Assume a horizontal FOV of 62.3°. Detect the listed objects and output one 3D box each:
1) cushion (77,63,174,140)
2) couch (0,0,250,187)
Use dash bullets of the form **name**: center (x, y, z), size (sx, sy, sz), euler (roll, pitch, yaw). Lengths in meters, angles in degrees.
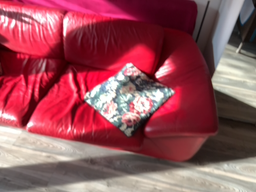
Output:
- **cushion**: center (-0.020, 0.000, 1.540), size (0.510, 0.110, 0.460), euler (36, 51, 28)
- **couch**: center (-0.570, -0.350, 1.790), size (2.470, 0.820, 1.310), euler (12, 44, 6)
